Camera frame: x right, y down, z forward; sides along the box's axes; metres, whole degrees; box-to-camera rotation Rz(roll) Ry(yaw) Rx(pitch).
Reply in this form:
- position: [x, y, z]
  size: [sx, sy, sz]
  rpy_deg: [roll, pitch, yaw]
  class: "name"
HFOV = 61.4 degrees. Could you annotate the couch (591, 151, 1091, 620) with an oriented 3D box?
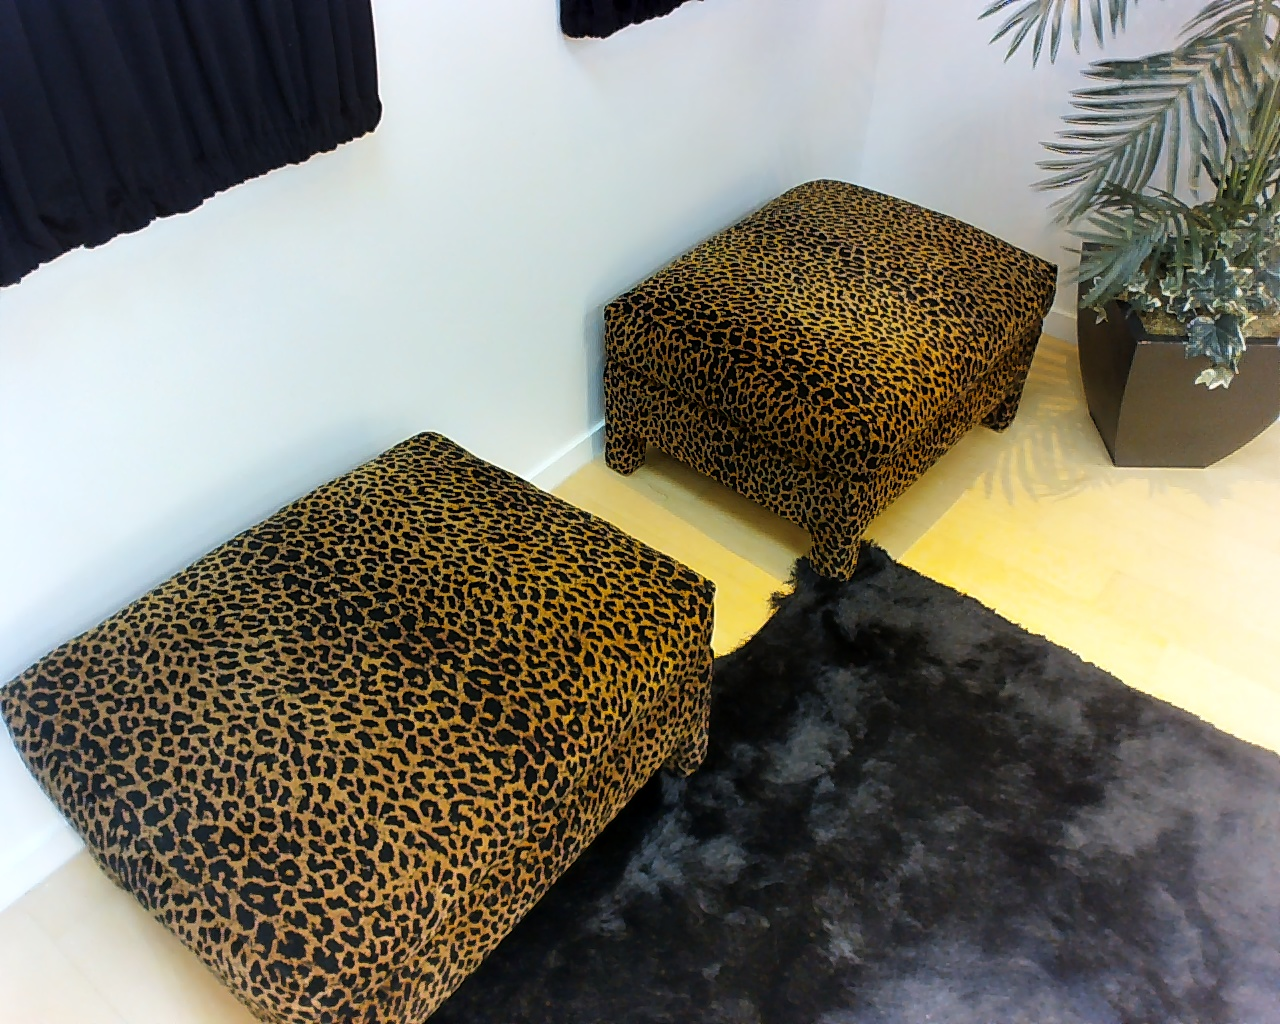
- position: [0.430, -0.330, 2.370]
  size: [0.670, 0.490, 0.850]
  rpy_deg: [29, 49, 28]
  class: "couch"
